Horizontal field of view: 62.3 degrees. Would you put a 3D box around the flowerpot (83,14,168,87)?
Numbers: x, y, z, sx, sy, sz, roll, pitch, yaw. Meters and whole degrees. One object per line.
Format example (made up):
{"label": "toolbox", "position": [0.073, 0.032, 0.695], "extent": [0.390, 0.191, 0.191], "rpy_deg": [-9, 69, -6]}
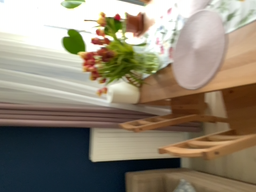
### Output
{"label": "flowerpot", "position": [-0.050, -0.260, 1.450], "extent": [0.500, 0.410, 0.350], "rpy_deg": [-179, 92, -69]}
